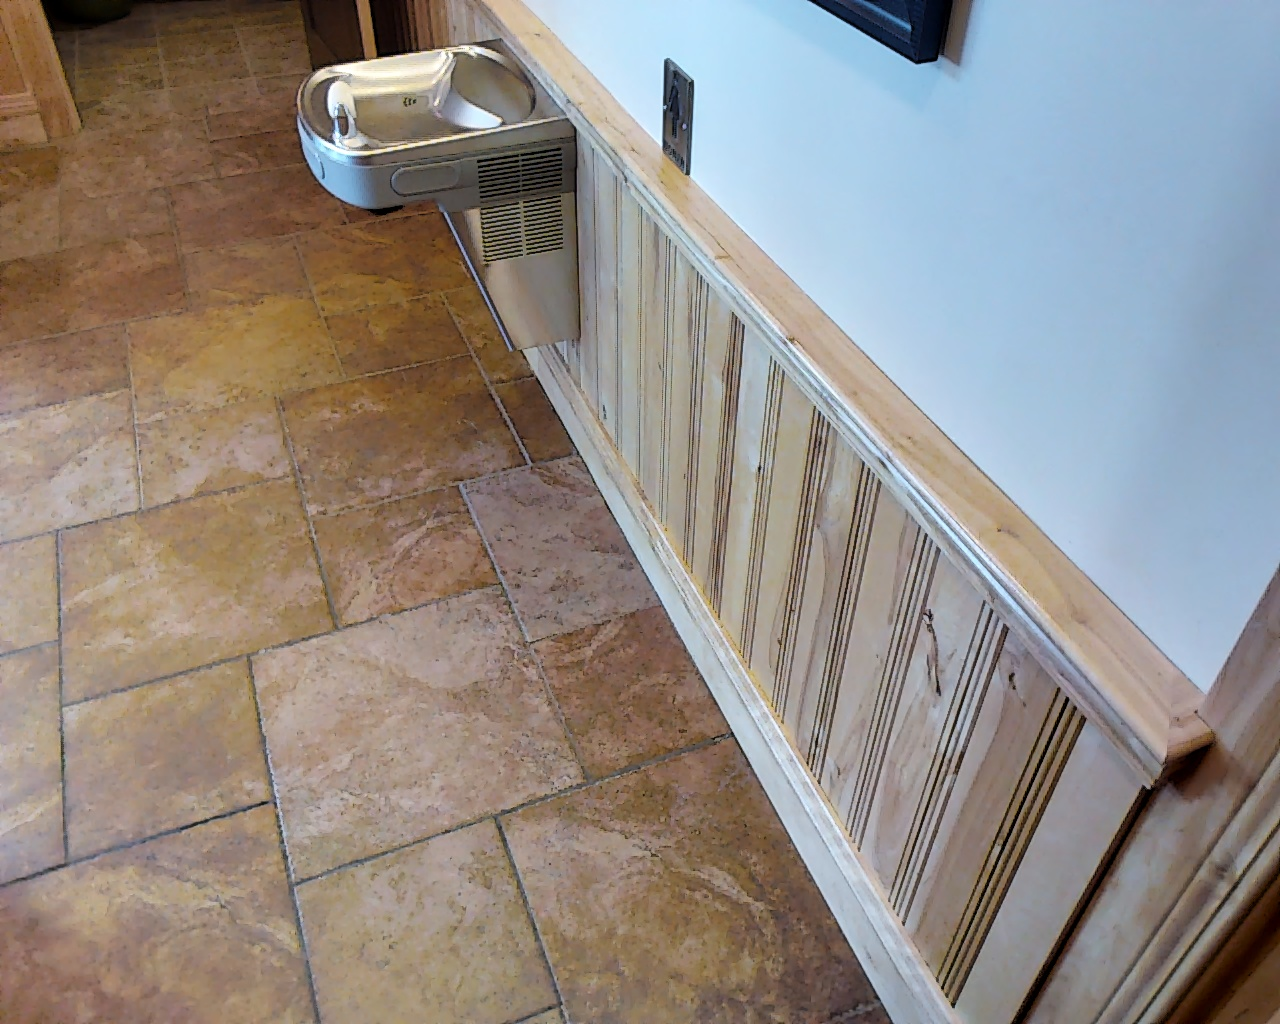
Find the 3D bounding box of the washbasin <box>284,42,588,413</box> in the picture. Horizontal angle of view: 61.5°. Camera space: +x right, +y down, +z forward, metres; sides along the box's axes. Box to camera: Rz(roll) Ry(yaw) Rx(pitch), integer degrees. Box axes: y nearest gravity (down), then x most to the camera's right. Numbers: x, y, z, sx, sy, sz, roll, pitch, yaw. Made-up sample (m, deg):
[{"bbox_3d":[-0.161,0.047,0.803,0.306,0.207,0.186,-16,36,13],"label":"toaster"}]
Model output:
[{"bbox_3d":[-0.420,-0.610,2.270,0.480,0.540,0.480,-14,43,-16],"label":"washbasin"}]
